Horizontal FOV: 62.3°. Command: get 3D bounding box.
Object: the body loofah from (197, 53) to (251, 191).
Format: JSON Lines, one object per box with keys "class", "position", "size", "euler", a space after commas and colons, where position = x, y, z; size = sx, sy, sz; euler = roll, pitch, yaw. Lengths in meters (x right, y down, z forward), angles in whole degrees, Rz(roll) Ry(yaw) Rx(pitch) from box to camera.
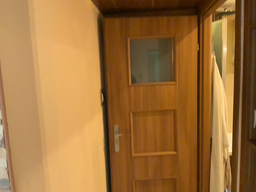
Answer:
{"class": "body loofah", "position": [0.830, 0.360, 1.910], "size": [0.310, 1.430, 0.370], "euler": [-1, 7, 5]}
